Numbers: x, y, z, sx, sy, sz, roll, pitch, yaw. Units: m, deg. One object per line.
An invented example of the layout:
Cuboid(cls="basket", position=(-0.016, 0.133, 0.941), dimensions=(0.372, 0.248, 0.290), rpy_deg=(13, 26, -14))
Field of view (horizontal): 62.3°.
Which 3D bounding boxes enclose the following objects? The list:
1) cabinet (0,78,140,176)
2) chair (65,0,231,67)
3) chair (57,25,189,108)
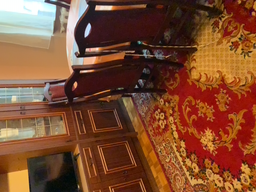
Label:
Cuboid(cls="cabinet", position=(-1.100, 0.290, 2.350), dimensions=(0.910, 2.290, 0.480), rpy_deg=(65, 144, 35))
Cuboid(cls="chair", position=(0.120, -0.510, 1.420), dimensions=(0.400, 0.930, 0.450), rpy_deg=(-61, 42, 44))
Cuboid(cls="chair", position=(-0.050, -0.230, 1.760), dimensions=(0.390, 0.930, 0.450), rpy_deg=(-61, 42, 44))
